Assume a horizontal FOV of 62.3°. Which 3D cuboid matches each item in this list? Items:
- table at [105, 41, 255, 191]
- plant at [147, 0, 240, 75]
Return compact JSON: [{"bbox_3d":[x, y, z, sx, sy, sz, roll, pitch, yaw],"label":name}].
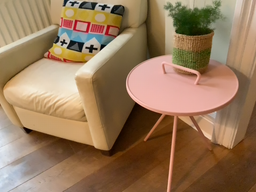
[{"bbox_3d":[0.240,0.120,1.030,0.460,0.540,0.440,-26,41,-23],"label":"table"},{"bbox_3d":[0.250,-0.320,0.860,0.220,0.330,0.270,-26,41,-23],"label":"plant"}]
